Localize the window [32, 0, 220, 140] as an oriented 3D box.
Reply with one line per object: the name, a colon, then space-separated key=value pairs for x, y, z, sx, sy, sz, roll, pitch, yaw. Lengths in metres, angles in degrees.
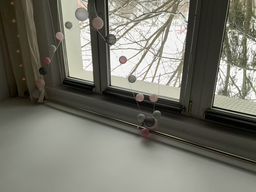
window: x=-0.100 y=-0.630 z=1.700 sx=1.460 sy=1.520 sz=0.450 roll=15 pitch=-153 yaw=30
